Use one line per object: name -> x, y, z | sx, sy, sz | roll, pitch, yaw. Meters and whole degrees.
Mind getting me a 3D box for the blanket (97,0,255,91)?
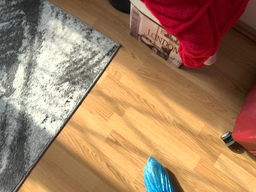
blanket -> 0.190, -0.350, 0.790 | 0.440, 0.430, 0.400 | 33, 79, 6
